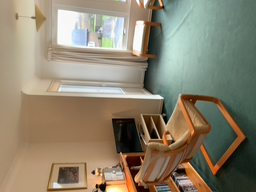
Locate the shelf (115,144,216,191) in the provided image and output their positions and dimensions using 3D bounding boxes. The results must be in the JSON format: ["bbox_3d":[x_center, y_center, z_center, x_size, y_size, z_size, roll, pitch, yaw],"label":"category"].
[{"bbox_3d":[0.400,1.040,2.740,0.960,0.950,0.330,-125,39,-67],"label":"shelf"}]

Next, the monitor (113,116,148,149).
[{"bbox_3d":[0.020,0.580,3.520,0.650,0.460,0.060,-105,22,-48],"label":"monitor"}]
